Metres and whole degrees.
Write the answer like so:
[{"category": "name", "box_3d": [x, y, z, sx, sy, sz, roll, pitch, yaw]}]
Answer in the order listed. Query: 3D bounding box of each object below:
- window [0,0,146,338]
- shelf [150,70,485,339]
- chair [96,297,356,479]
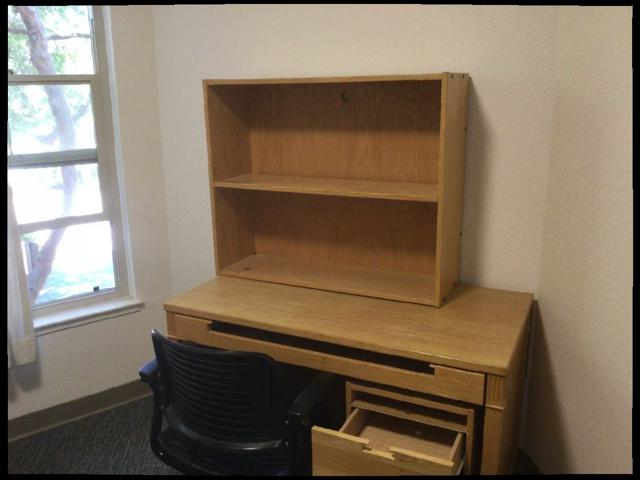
[{"category": "window", "box_3d": [-1.128, -0.301, 2.500, 0.549, 1.352, 0.390, -3, 15, -8]}, {"category": "shelf", "box_3d": [0.040, -0.220, 2.200, 0.969, 0.781, 0.800, 6, 16, 25]}, {"category": "chair", "box_3d": [-0.240, 0.511, 1.790, 0.669, 0.511, 0.500, -1, 15, 0]}]
